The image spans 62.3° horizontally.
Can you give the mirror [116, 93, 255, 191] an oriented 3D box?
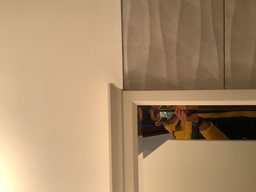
[{"bbox_3d":[0.260,0.270,0.640,0.030,0.580,0.550,-24,-67,-81],"label":"mirror"}]
